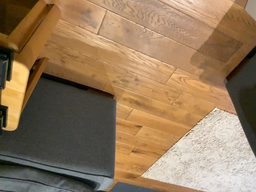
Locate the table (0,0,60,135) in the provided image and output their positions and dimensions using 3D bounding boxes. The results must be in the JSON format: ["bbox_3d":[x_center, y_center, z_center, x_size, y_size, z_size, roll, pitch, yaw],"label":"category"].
[{"bbox_3d":[-0.660,-0.230,0.910,0.530,0.530,0.430,17,131,-15],"label":"table"}]
